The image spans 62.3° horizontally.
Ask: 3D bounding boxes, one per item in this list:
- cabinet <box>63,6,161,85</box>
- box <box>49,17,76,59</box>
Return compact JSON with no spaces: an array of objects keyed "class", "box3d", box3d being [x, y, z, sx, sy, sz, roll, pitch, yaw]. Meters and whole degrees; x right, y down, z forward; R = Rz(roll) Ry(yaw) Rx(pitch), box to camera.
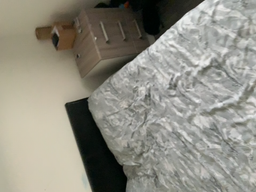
[{"class":"cabinet","box3d":[-0.190,-0.500,2.150,0.640,0.670,0.470,-29,79,57]},{"class":"box","box3d":[-0.640,-0.560,2.050,0.230,0.150,0.310,62,146,17]}]
